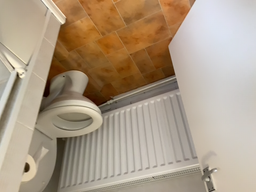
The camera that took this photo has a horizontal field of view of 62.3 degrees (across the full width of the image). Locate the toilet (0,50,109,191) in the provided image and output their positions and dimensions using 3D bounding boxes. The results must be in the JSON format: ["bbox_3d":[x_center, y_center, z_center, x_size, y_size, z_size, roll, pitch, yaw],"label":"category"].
[{"bbox_3d":[-0.530,0.210,1.530,0.630,0.820,0.470,-18,140,17],"label":"toilet"}]
